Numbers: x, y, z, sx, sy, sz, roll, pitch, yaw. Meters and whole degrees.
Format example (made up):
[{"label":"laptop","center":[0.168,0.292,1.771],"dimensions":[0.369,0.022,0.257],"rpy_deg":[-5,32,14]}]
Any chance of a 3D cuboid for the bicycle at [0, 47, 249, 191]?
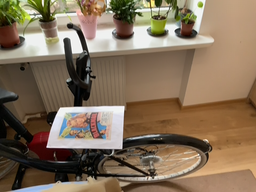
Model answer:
[{"label":"bicycle","center":[-0.150,0.340,1.200],"dimensions":[1.160,1.080,0.350],"rpy_deg":[-6,41,-7]}]
